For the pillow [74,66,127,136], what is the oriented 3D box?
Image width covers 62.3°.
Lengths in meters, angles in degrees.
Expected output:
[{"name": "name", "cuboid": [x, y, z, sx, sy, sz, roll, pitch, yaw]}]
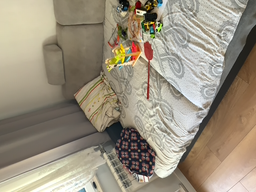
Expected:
[{"name": "pillow", "cuboid": [-0.360, 0.040, 2.550, 0.650, 0.340, 0.450, 52, 146, 32]}]

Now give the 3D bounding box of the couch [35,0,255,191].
[{"name": "couch", "cuboid": [-0.020, -0.380, 1.740, 1.490, 0.980, 2.240, 51, 146, 34]}]

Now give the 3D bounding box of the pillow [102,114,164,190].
[{"name": "pillow", "cuboid": [0.020, 0.560, 2.180, 0.560, 0.330, 0.380, 53, 147, 32]}]
